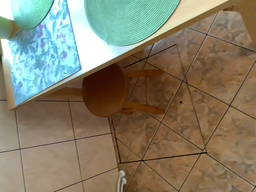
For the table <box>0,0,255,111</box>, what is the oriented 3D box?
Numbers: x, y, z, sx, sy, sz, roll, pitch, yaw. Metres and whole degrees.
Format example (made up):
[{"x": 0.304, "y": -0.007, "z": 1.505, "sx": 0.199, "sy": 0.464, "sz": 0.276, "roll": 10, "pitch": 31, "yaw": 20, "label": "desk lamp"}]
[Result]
[{"x": 0.010, "y": -0.410, "z": 1.060, "sx": 1.100, "sy": 0.770, "sz": 0.690, "roll": -20, "pitch": 77, "yaw": 32, "label": "table"}]
